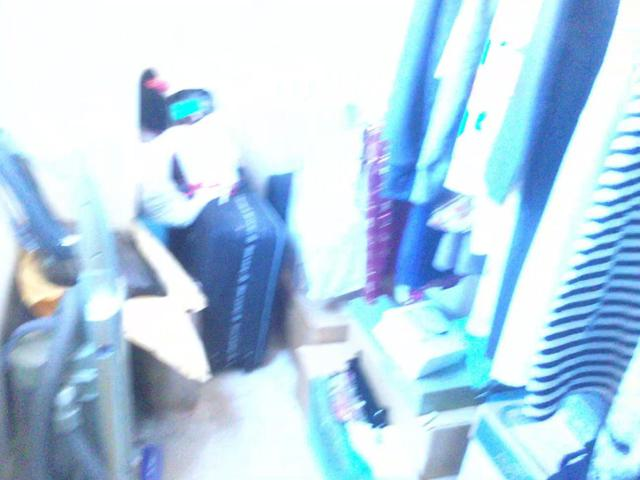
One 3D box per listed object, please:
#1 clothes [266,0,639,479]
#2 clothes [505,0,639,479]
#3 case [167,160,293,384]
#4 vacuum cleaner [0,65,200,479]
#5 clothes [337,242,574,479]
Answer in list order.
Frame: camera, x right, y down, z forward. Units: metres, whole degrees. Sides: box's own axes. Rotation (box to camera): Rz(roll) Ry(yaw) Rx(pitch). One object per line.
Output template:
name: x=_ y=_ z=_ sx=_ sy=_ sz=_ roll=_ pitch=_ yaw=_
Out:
clothes: x=0.310 y=-0.200 z=1.300 sx=0.430 sy=1.310 sz=1.370 roll=-6 pitch=24 yaw=-22
clothes: x=0.470 y=-0.020 z=0.790 sx=0.180 sy=0.850 sz=0.200 roll=-6 pitch=24 yaw=-22
case: x=-0.350 y=0.090 z=2.130 sx=0.320 sy=0.640 sz=0.500 roll=-5 pitch=24 yaw=-22
vacuum cleaner: x=-0.510 y=0.220 z=1.270 sx=0.400 sy=1.110 sz=0.420 roll=-6 pitch=24 yaw=-22
clothes: x=0.280 y=0.250 z=1.410 sx=0.250 sy=0.270 sz=0.570 roll=-6 pitch=24 yaw=-22
